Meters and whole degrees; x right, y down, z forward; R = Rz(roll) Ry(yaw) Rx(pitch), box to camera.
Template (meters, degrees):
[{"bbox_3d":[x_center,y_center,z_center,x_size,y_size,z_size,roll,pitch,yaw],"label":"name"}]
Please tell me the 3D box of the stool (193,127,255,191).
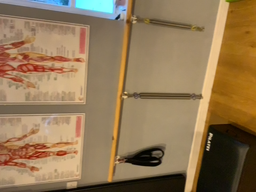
[{"bbox_3d":[0.770,0.610,1.660,0.350,0.250,0.630,-146,59,-64],"label":"stool"}]
